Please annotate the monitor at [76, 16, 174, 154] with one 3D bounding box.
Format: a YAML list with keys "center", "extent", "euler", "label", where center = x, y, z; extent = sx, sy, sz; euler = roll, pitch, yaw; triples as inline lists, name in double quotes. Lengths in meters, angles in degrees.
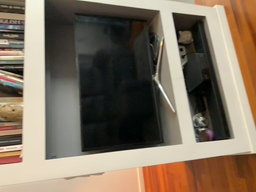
- center: [-0.030, -0.100, 1.450]
  extent: [0.060, 0.600, 0.900]
  euler: [142, 125, -65]
  label: "monitor"
